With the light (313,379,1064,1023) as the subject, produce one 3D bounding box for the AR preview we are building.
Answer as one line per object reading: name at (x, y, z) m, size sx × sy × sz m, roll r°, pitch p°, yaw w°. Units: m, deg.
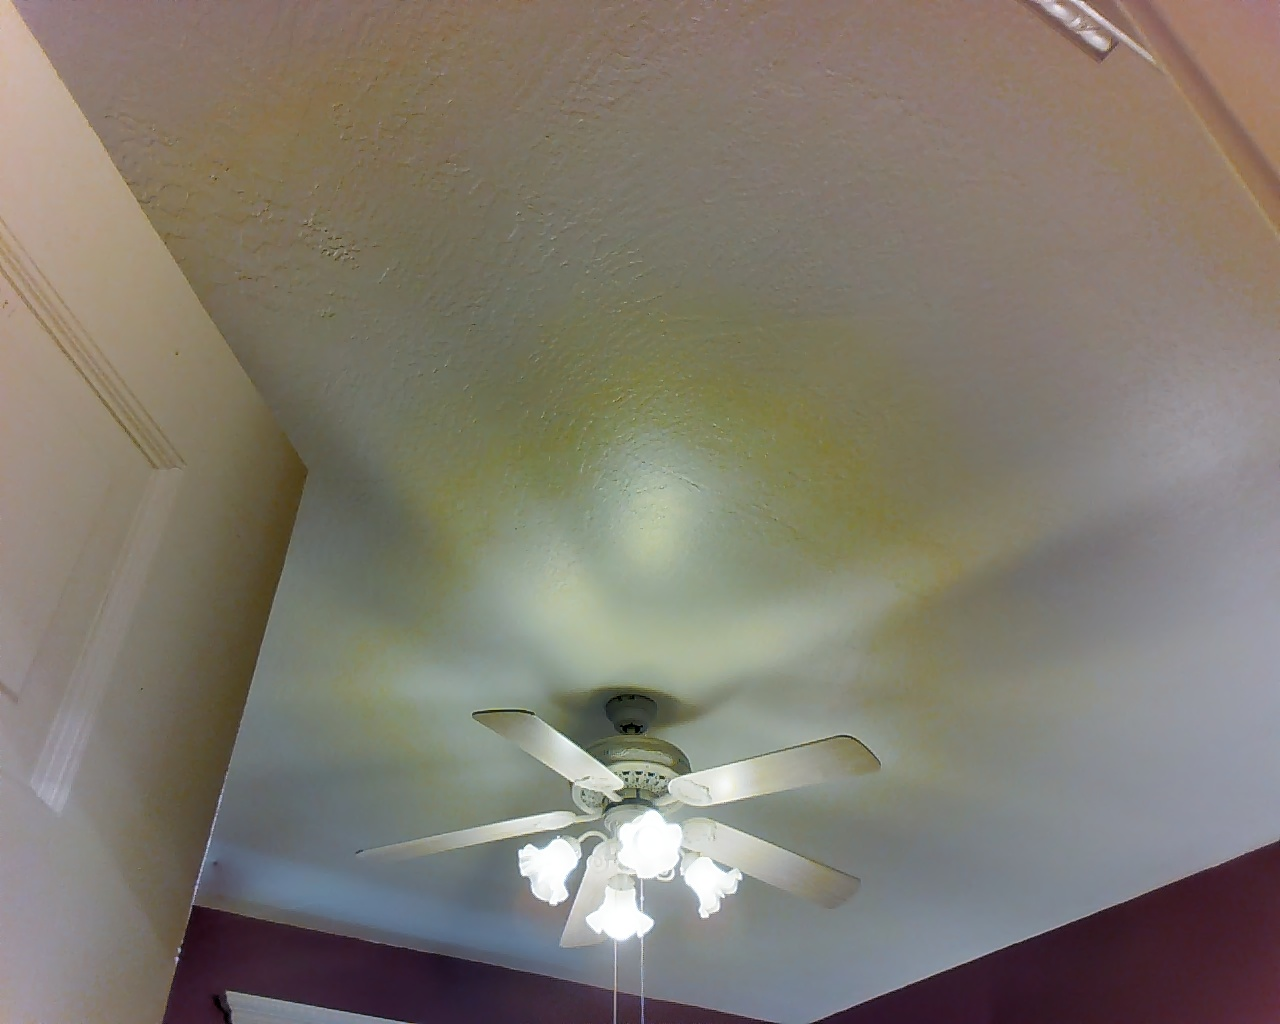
light at (-0.020, 0.660, 2.590) m, size 0.420 × 1.380 × 1.310 m, roll -25°, pitch -17°, yaw -48°
